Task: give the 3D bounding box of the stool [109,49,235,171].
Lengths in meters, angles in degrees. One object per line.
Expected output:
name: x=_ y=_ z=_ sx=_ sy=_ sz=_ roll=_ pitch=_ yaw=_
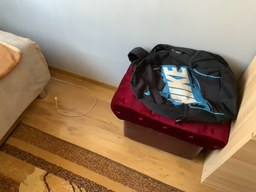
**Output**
stool: x=0.210 y=0.080 z=1.130 sx=0.500 sy=0.410 sz=0.350 roll=18 pitch=57 yaw=11
